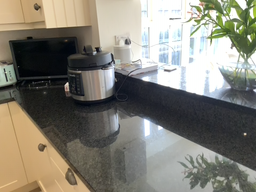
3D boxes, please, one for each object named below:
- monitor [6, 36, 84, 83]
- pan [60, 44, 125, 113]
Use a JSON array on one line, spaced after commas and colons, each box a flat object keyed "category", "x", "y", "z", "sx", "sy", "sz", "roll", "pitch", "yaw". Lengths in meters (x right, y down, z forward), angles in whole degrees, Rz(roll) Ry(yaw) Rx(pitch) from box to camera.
[{"category": "monitor", "x": -0.690, "y": -0.300, "z": 1.790, "sx": 0.580, "sy": 0.360, "sz": 0.050, "roll": -3, "pitch": 20, "yaw": 2}, {"category": "pan", "x": -0.220, "y": -0.130, "z": 1.310, "sx": 0.240, "sy": 0.330, "sz": 0.320, "roll": -17, "pitch": 24, "yaw": -33}]
